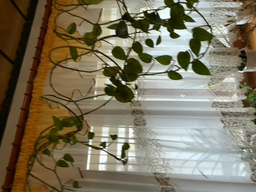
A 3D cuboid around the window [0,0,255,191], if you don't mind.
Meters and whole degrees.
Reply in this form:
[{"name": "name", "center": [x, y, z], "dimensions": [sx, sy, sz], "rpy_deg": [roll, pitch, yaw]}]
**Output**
[{"name": "window", "center": [0.160, -0.210, 1.450], "dimensions": [0.260, 1.710, 2.140], "rpy_deg": [77, -165, -72]}]
